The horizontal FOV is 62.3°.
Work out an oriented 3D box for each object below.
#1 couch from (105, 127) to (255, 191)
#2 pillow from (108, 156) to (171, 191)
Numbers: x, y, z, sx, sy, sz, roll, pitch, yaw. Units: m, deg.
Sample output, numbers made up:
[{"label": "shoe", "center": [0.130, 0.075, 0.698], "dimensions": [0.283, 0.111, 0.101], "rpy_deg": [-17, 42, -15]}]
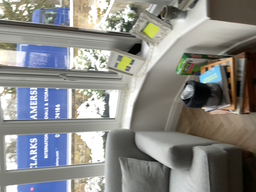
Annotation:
[{"label": "couch", "center": [0.310, 0.780, 1.670], "dimensions": [1.050, 0.790, 0.920], "rpy_deg": [176, 94, -72]}, {"label": "pillow", "center": [0.110, 0.780, 1.760], "dimensions": [0.150, 0.460, 0.490], "rpy_deg": [-3, -98, -64]}]
